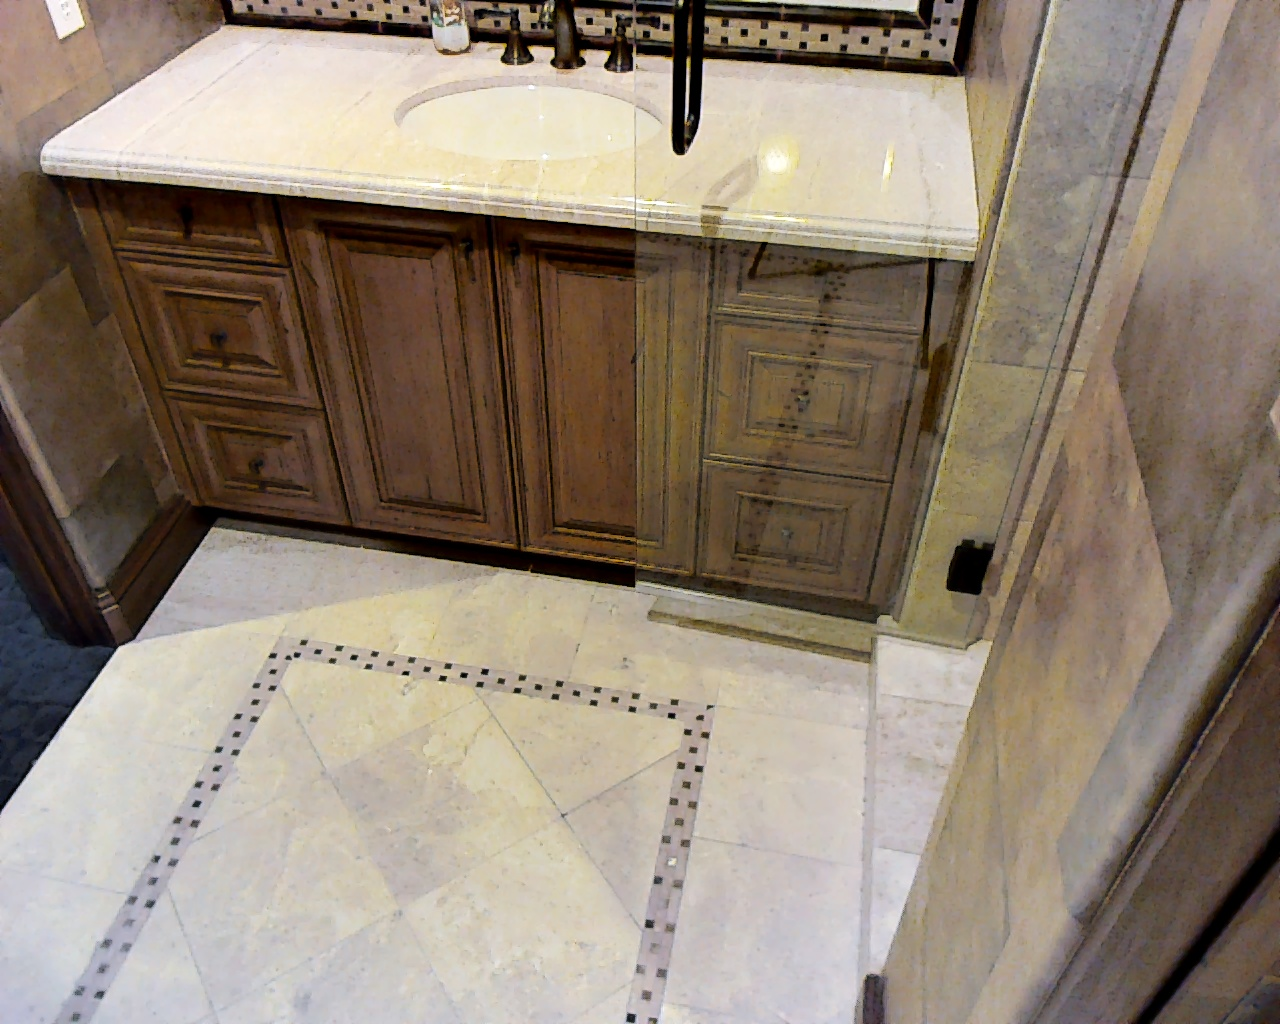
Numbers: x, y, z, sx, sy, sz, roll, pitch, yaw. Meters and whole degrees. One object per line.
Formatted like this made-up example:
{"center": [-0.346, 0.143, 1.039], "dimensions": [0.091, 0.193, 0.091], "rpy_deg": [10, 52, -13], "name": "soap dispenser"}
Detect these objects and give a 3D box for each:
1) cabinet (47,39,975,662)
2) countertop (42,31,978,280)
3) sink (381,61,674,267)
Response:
{"center": [-0.180, -0.340, 2.160], "dimensions": [1.470, 0.880, 0.640], "rpy_deg": [8, 42, 8], "name": "cabinet"}
{"center": [-0.180, -0.660, 1.870], "dimensions": [1.470, 0.050, 0.640], "rpy_deg": [8, 42, 8], "name": "countertop"}
{"center": [-0.180, -0.630, 1.910], "dimensions": [0.420, 0.190, 0.360], "rpy_deg": [8, 42, 8], "name": "sink"}
